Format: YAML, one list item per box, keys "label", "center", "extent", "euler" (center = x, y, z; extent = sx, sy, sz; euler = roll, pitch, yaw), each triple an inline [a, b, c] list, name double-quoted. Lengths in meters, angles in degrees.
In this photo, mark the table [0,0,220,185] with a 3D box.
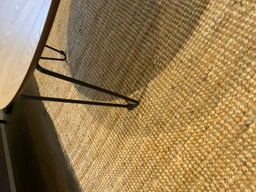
- label: "table"
  center: [-0.200, -0.350, 0.660]
  extent: [0.800, 0.360, 0.810]
  euler: [51, 122, 37]
